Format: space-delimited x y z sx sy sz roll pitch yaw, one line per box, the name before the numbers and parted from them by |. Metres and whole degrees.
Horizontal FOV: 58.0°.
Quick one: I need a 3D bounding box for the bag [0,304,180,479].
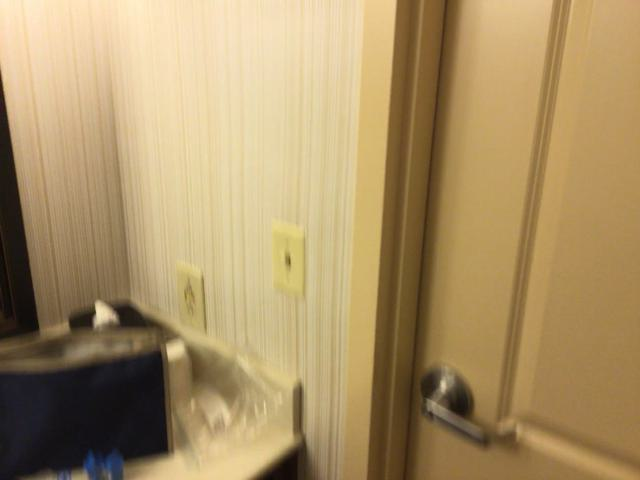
bag | -0.400 0.260 0.930 0.310 0.200 0.230 -6 18 -15
